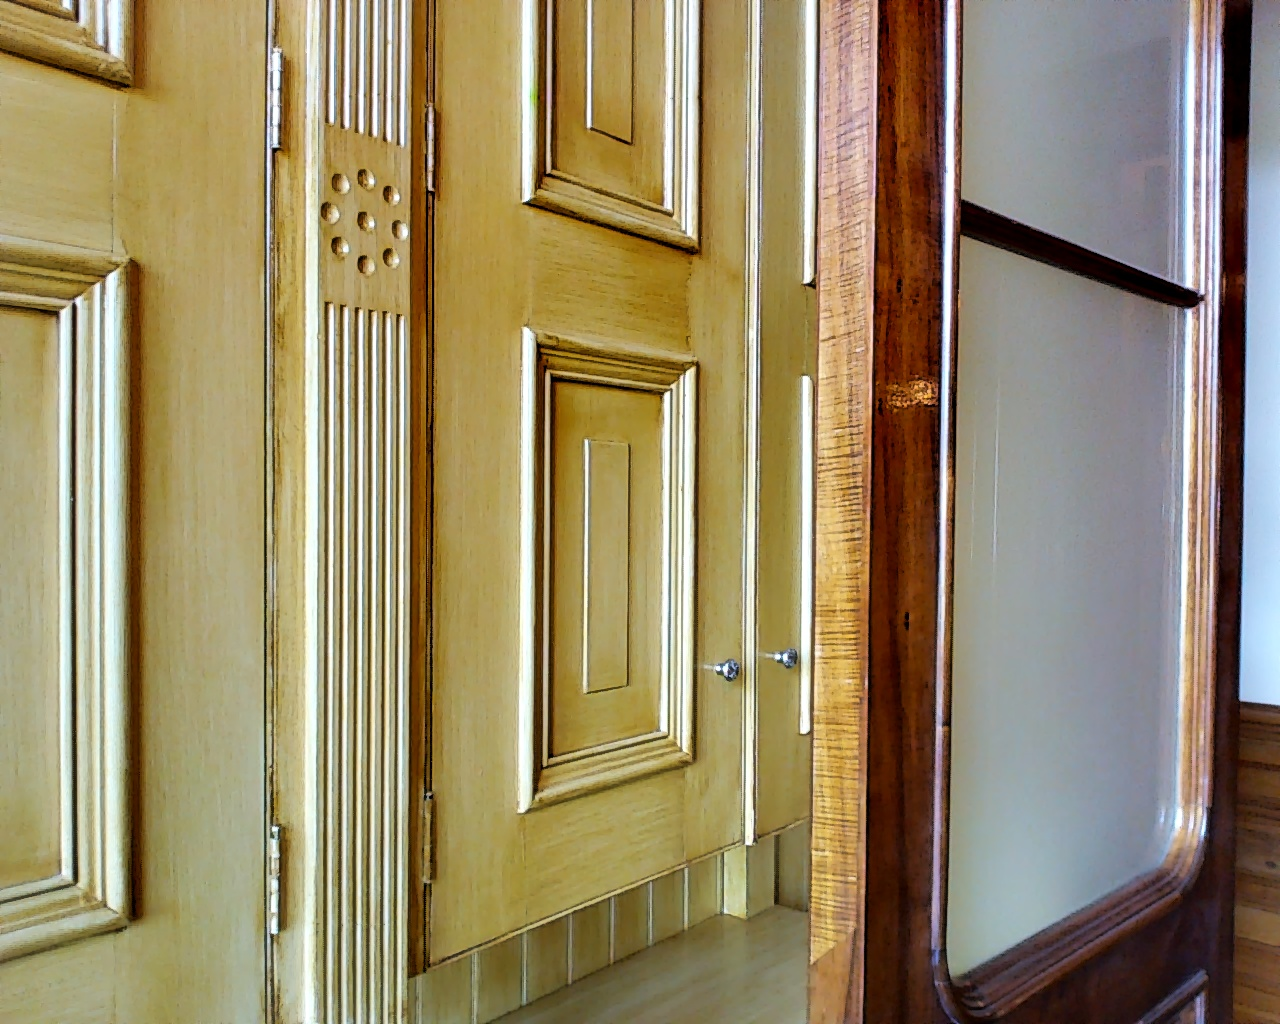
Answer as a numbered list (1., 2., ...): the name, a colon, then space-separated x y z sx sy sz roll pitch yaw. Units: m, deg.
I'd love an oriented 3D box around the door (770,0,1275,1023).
1. door: 0.490 0.120 1.190 0.960 2.790 0.100 0 0 -44
